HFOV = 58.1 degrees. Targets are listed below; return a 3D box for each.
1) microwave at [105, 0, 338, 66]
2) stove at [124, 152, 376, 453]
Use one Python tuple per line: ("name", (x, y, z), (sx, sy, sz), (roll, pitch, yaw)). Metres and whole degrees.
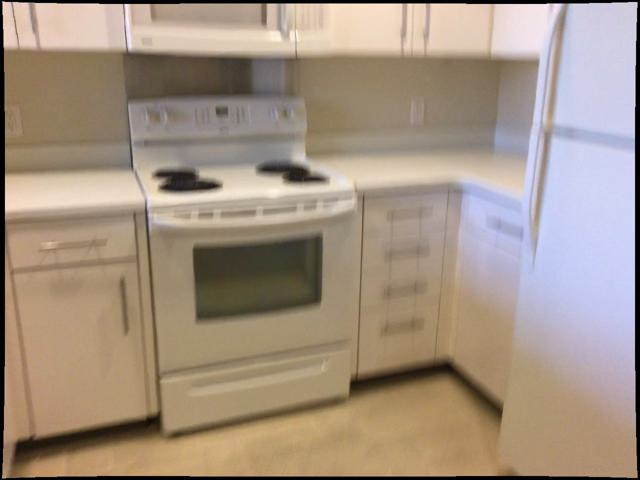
("microwave", (-0.349, -0.882, 2.130), (0.838, 0.451, 0.160), (-6, 19, -20))
("stove", (-0.319, 0.180, 2.430), (0.838, 0.952, 0.720), (-6, 19, -20))
